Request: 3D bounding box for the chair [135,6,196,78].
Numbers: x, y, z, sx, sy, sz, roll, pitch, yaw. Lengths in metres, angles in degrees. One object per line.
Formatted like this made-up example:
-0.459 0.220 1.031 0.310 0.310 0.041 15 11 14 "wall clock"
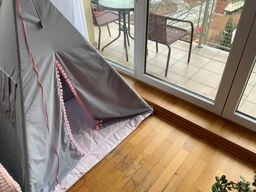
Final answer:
0.420 -0.640 2.470 0.450 0.590 0.490 27 46 30 "chair"
